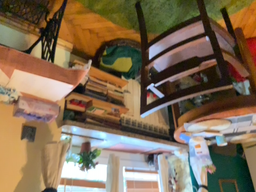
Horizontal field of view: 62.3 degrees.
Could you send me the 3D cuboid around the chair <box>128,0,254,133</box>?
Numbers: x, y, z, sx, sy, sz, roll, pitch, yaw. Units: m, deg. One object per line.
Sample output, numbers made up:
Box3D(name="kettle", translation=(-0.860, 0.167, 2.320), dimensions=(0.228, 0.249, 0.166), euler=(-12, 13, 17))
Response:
Box3D(name="chair", translation=(0.380, -0.300, 1.440), dimensions=(0.500, 0.910, 0.520), euler=(-23, 147, 34))
